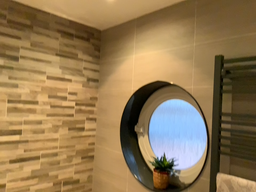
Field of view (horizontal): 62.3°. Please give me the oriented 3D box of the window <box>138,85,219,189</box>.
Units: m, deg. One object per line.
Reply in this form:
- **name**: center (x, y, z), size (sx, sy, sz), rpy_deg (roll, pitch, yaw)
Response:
- **window**: center (0.400, 0.300, 1.870), size (0.060, 0.770, 0.750), rpy_deg (5, -3, -45)
